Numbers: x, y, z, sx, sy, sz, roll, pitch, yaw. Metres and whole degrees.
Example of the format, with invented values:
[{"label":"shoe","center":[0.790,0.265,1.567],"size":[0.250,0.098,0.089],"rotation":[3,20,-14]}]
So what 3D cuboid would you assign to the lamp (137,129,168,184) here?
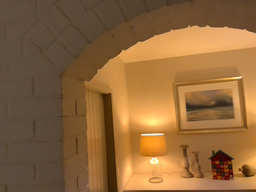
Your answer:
[{"label":"lamp","center":[0.320,0.740,2.680],"size":[0.300,0.580,0.450],"rotation":[-5,-5,11]}]
